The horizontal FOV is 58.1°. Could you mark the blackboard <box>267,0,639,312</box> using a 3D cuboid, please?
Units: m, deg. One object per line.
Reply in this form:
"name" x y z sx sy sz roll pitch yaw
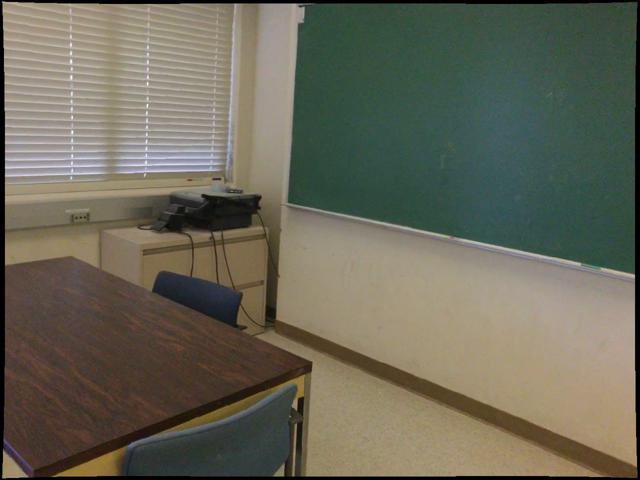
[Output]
"blackboard" 0.928 -0.521 2.410 0.220 1.373 3.386 -10 18 -42
